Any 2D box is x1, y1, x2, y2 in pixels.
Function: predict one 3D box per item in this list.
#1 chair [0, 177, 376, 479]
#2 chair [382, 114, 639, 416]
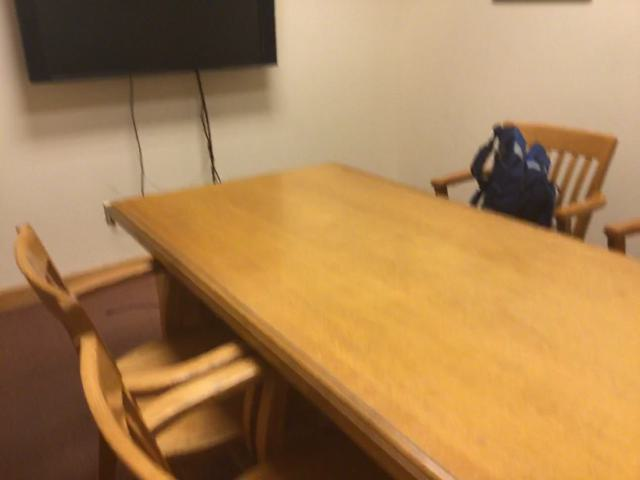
[{"bbox_3d":[-0.360,0.390,1.360,0.660,0.830,0.730,-15,26,-30],"label":"chair"},{"bbox_3d":[0.700,0.030,2.210,0.650,0.850,0.640,-16,26,-31],"label":"chair"}]
